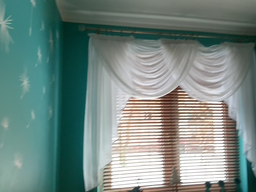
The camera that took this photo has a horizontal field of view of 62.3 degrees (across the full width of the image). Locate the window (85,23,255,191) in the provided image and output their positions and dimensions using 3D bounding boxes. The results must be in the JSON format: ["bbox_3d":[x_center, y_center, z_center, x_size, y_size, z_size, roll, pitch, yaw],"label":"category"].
[{"bbox_3d":[0.500,0.250,2.060,1.790,1.790,0.190,0,-5,-10],"label":"window"}]
